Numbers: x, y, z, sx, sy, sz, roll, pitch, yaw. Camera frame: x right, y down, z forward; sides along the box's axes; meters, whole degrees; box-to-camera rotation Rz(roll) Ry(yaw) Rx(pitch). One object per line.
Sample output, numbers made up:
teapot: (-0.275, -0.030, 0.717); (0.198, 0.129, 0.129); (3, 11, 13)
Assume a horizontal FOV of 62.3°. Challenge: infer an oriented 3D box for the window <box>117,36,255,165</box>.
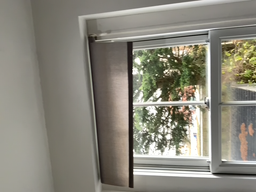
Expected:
window: (0.580, 0.040, 1.250); (0.070, 1.260, 0.730); (-33, -60, -76)
